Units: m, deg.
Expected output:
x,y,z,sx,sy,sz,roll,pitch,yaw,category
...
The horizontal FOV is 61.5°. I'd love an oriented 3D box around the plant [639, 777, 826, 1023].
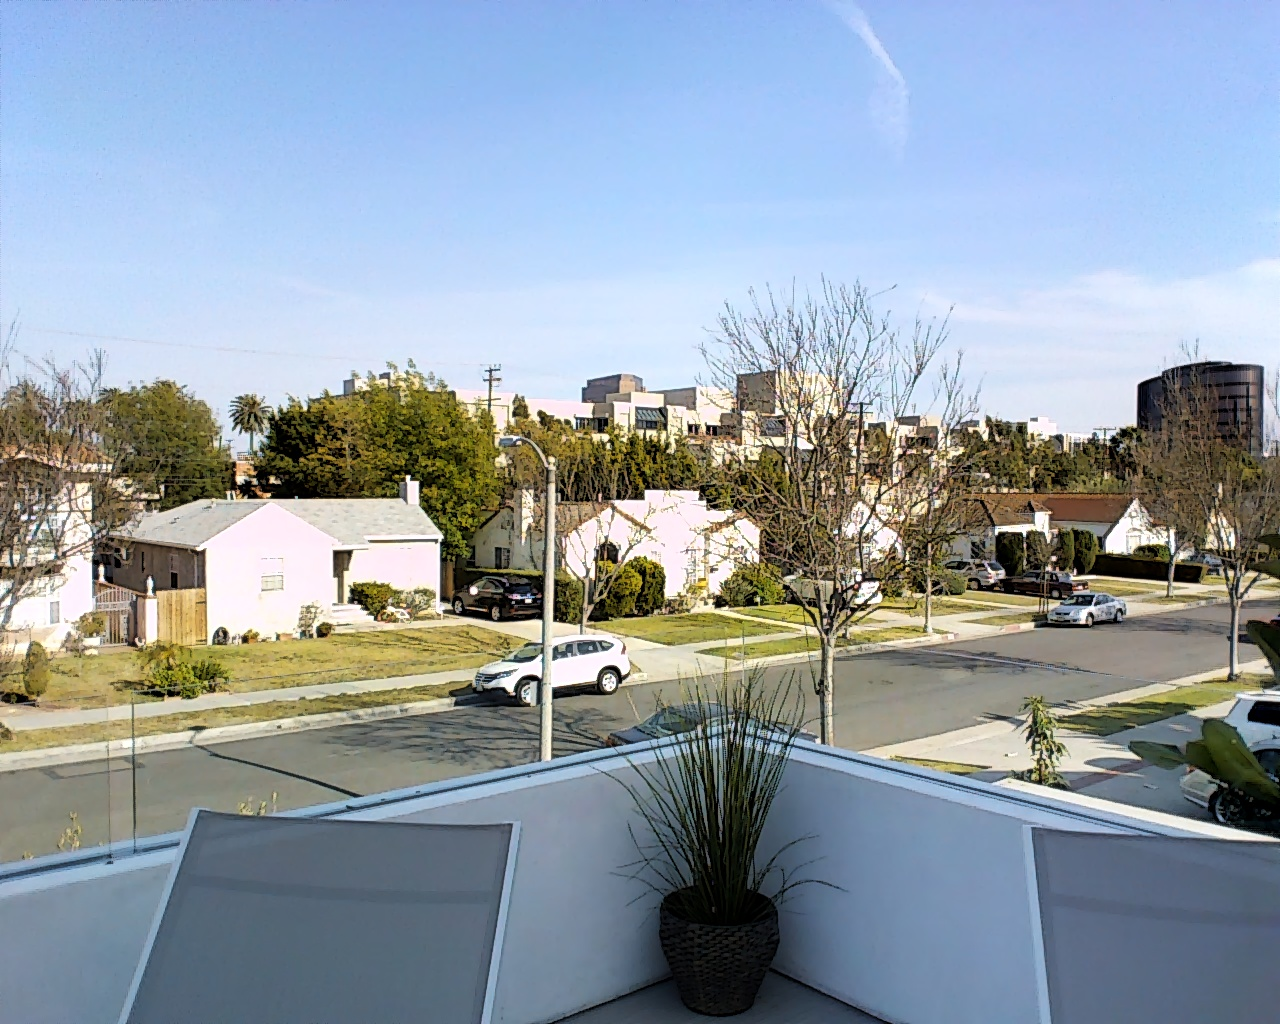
x,y,z,sx,sy,sz,roll,pitch,yaw,category
0.280,1.171,3.270,0.430,0.580,0.370,-1,2,-40,plant
